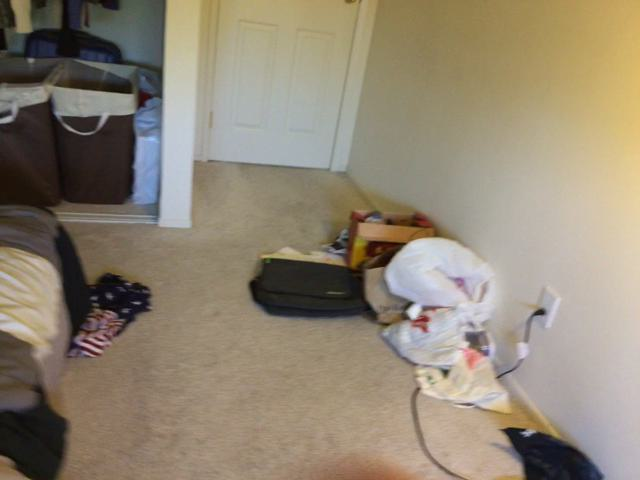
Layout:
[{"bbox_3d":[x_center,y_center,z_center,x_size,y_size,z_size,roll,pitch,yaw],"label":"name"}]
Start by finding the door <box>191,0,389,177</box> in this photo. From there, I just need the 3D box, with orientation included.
[{"bbox_3d":[-0.100,-1.310,3.050,0.950,1.960,0.130,3,26,-18],"label":"door"}]
